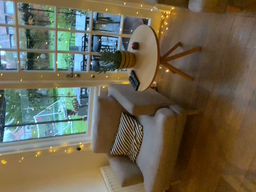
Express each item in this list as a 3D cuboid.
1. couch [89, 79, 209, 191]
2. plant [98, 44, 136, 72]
[{"bbox_3d":[0.130,0.430,2.350,0.890,0.830,0.980,43,131,54],"label":"couch"},{"bbox_3d":[-0.110,-0.370,2.070,0.150,0.320,0.220,47,134,52],"label":"plant"}]
